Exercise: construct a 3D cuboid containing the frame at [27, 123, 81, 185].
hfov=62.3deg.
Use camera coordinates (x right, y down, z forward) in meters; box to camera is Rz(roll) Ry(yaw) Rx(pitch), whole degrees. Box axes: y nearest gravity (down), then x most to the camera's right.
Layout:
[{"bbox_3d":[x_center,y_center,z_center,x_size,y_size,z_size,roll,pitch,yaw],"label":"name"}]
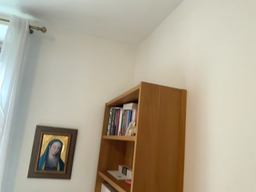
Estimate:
[{"bbox_3d":[-0.660,0.530,1.940,0.380,0.510,0.100,9,-13,-18],"label":"frame"}]
